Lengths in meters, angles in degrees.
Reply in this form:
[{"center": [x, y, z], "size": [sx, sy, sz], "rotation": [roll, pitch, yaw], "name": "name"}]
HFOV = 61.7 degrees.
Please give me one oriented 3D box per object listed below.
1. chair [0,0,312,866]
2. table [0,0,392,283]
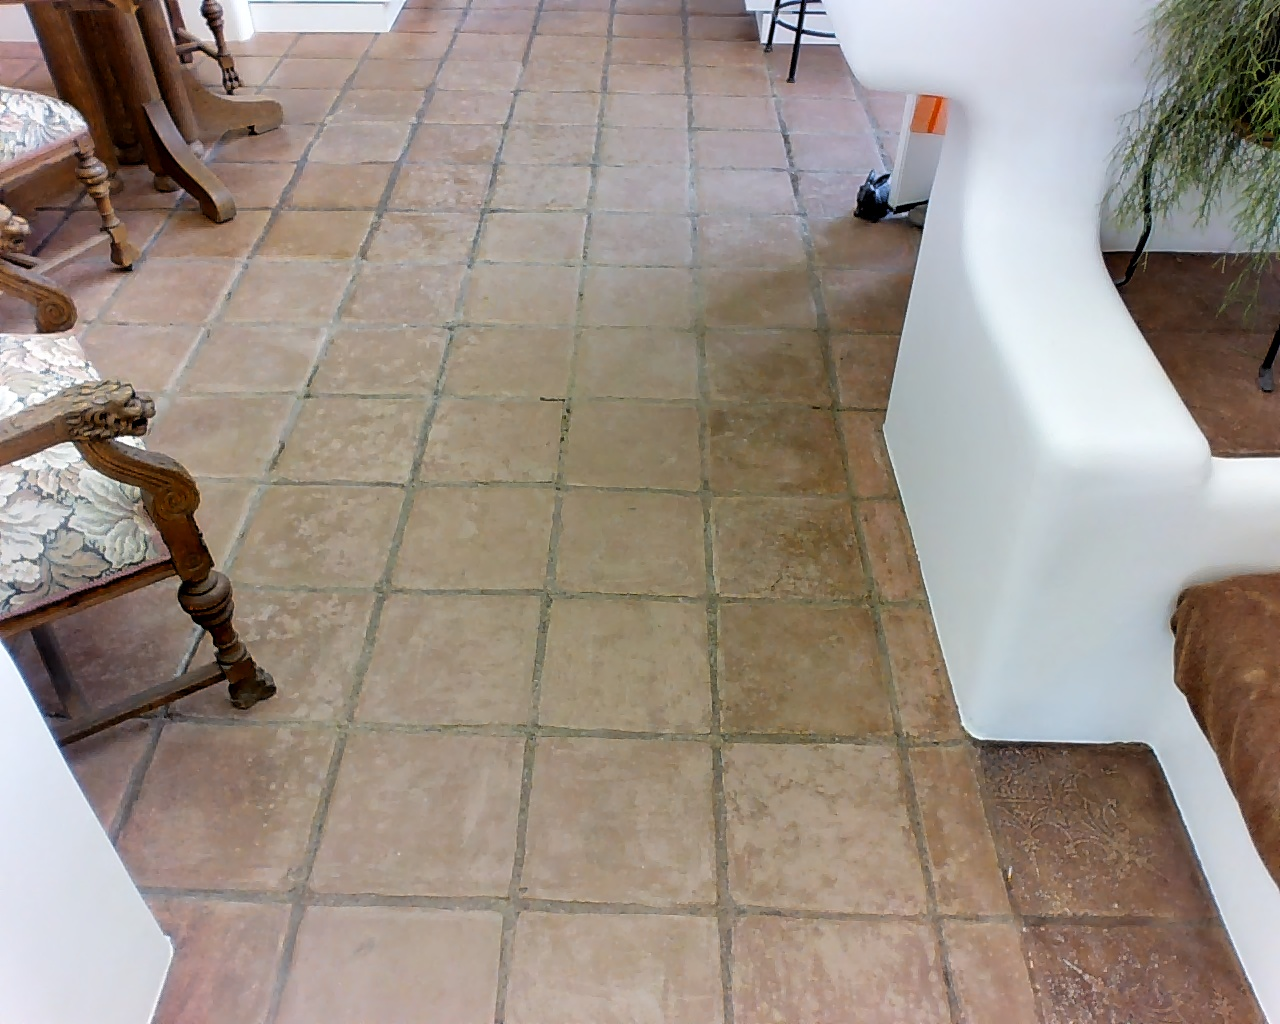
[{"center": [-1.080, -0.090, 1.500], "size": [0.770, 1.000, 0.730], "rotation": [-29, 49, -29], "name": "chair"}, {"center": [-1.520, -1.300, 3.070], "size": [1.330, 0.730, 1.250], "rotation": [-1, 42, -2], "name": "table"}]
